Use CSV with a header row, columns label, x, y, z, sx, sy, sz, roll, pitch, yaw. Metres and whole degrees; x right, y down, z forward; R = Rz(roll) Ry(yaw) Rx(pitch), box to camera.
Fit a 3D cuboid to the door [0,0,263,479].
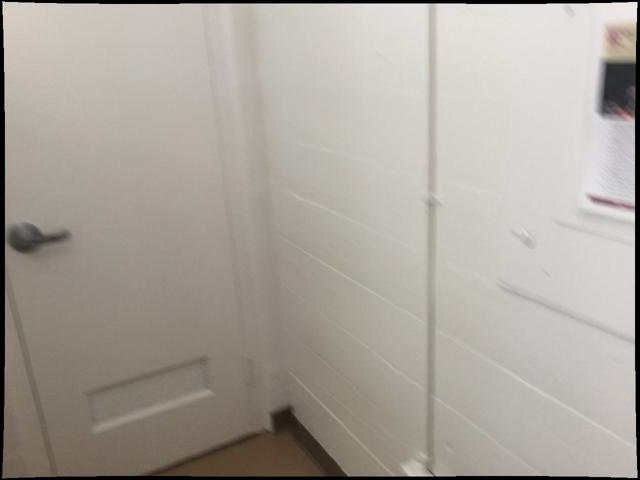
label,x,y,z,sx,sy,sz,roll,pitch,yaw
door,-0.648,-0.010,1.870,0.818,1.854,0.080,-13,20,-27
